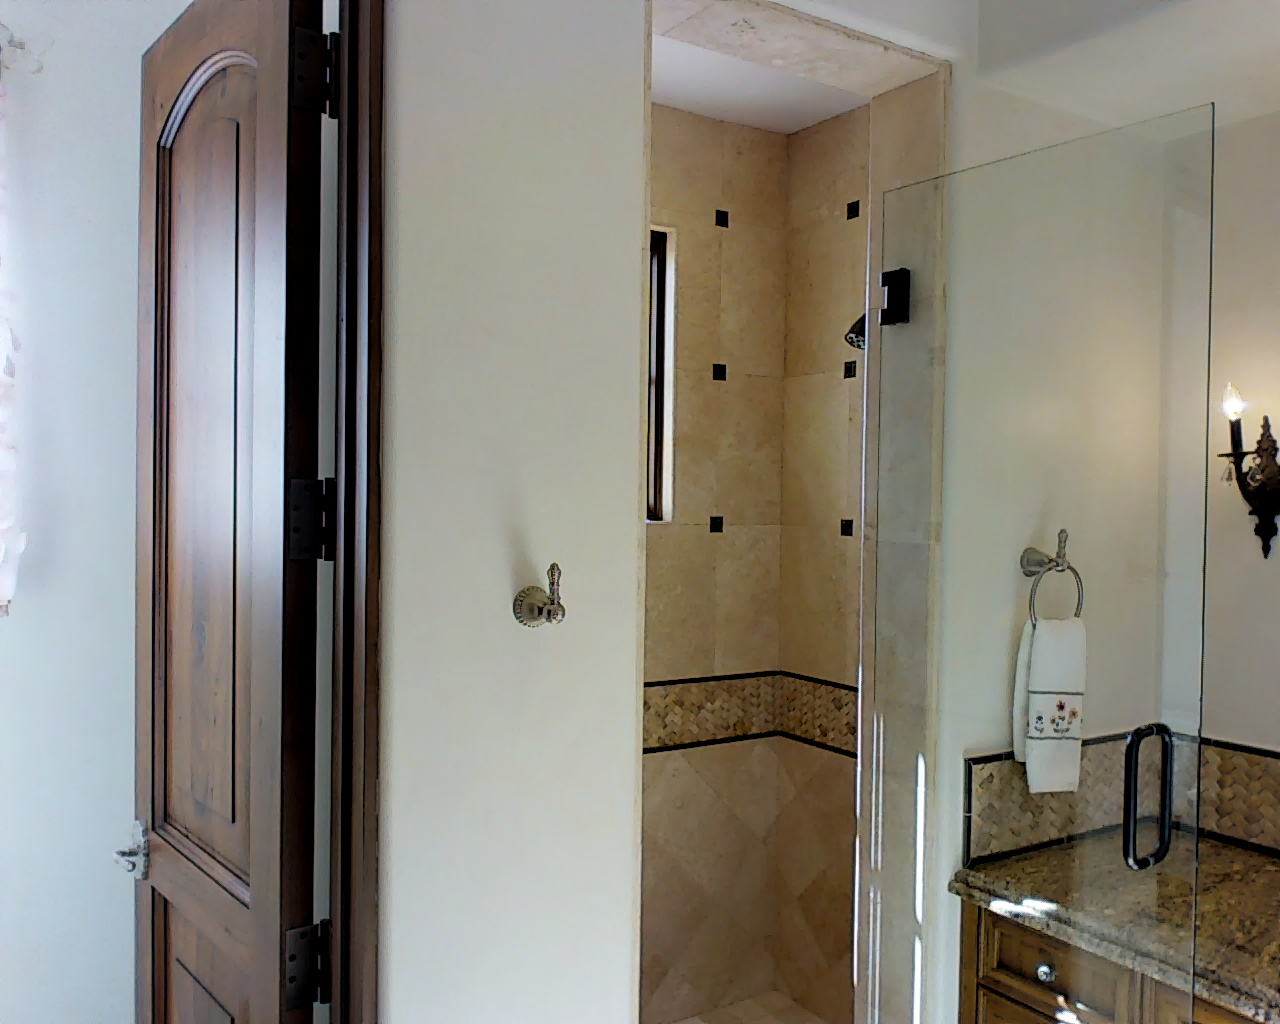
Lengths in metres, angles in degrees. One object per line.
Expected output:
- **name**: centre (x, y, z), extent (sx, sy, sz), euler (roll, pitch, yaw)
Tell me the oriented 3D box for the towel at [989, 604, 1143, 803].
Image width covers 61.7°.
- **towel**: centre (0.830, 0.360, 2.080), extent (0.300, 0.340, 0.120), euler (1, 1, -33)
